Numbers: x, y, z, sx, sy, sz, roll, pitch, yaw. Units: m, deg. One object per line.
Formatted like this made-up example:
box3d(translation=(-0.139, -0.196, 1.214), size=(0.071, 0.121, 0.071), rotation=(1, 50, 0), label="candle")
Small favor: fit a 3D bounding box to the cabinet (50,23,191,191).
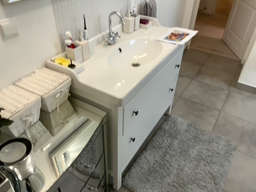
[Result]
box3d(translation=(0.020, 0.020, 1.710), size=(0.480, 0.820, 1.040), rotation=(22, 42, 23), label="cabinet")
